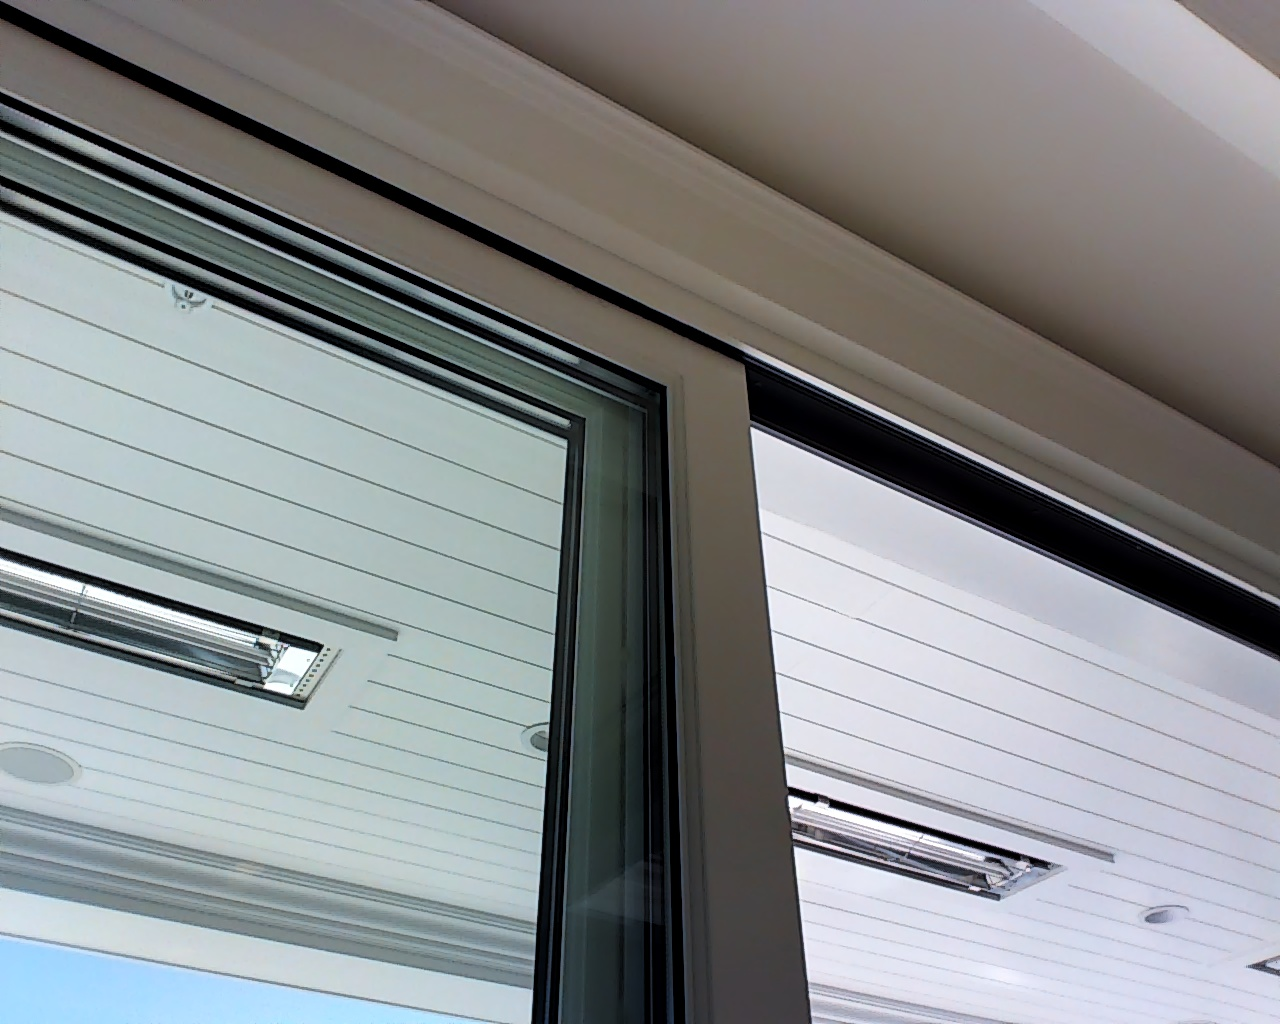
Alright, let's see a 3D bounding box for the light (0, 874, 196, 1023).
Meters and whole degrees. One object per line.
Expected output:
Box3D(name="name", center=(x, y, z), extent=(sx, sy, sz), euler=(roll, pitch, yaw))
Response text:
Box3D(name="light", center=(-2.059, 1.671, 3.820), extent=(0.660, 0.820, 0.360), euler=(21, 45, -22))
